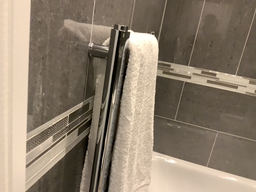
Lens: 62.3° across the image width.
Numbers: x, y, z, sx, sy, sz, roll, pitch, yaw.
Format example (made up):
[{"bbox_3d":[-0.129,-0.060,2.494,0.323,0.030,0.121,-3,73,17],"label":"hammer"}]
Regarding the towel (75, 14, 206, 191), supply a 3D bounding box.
[{"bbox_3d":[0.020,0.190,0.670,0.200,0.780,0.380,14,18,12],"label":"towel"}]
